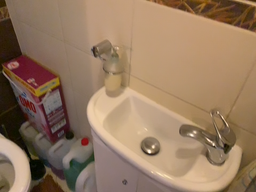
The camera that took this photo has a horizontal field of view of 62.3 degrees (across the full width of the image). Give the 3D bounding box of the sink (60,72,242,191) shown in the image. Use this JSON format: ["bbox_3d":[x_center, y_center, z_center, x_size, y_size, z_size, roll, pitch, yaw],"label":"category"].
[{"bbox_3d":[0.050,0.140,0.680,0.490,0.170,0.230,29,48,24],"label":"sink"}]
